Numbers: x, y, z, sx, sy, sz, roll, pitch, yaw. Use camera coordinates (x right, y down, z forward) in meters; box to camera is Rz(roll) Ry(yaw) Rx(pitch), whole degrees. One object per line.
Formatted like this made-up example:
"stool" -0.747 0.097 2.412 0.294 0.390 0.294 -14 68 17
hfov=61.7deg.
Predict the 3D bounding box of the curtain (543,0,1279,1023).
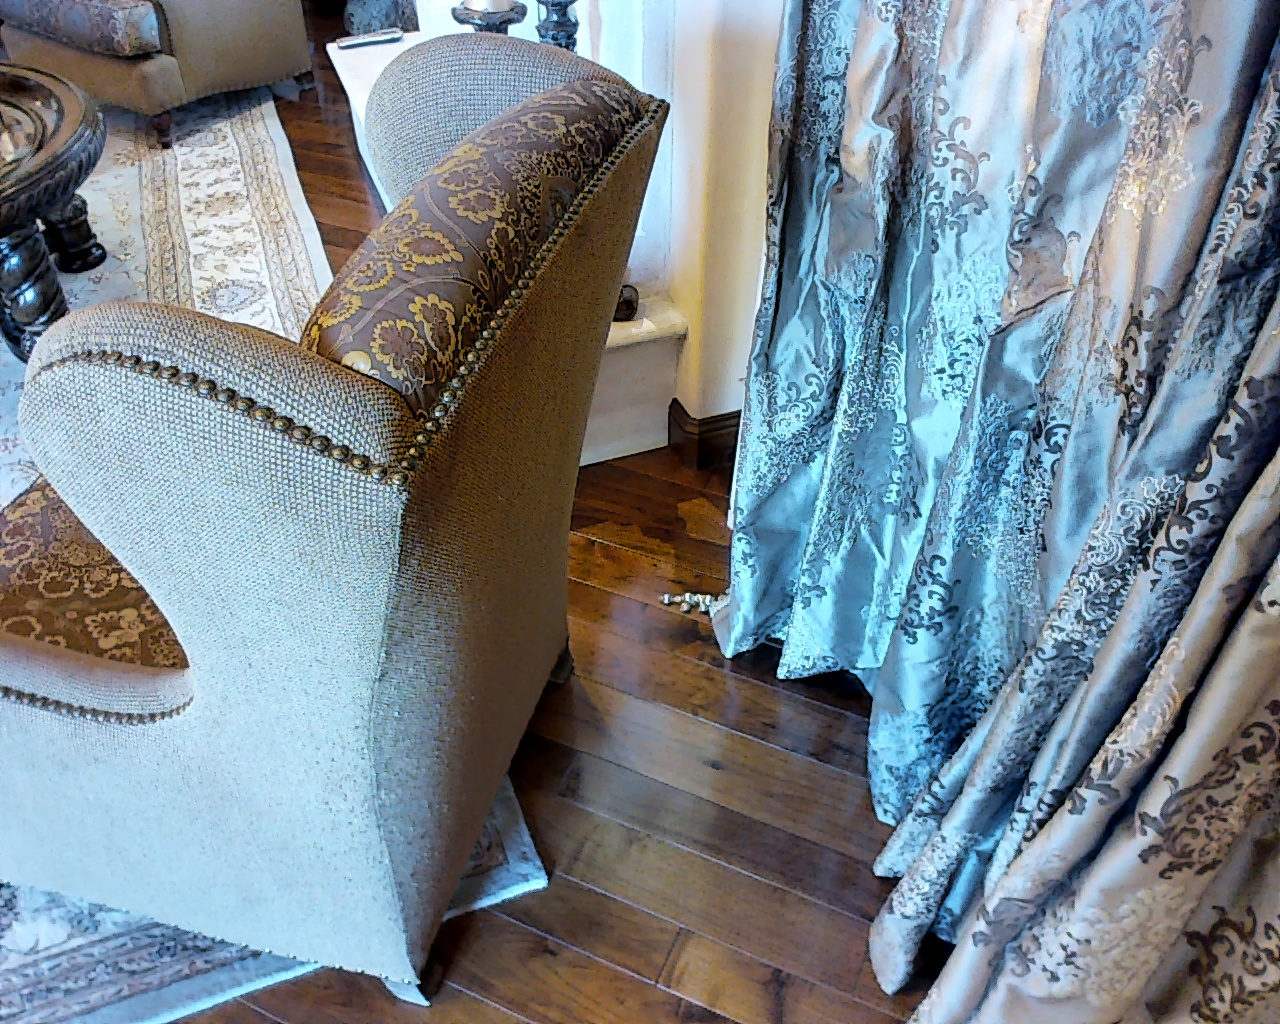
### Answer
"curtain" 0.350 -0.610 0.950 0.480 2.850 1.570 -14 43 -15
